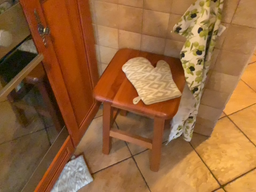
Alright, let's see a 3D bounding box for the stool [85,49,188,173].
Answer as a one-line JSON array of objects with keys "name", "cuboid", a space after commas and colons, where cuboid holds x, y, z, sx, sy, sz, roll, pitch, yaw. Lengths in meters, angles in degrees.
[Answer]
[{"name": "stool", "cuboid": [0.040, 0.080, 0.960, 0.320, 0.440, 0.270, 16, 50, 12]}]
